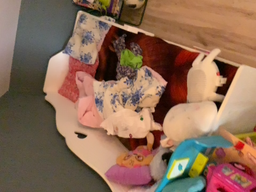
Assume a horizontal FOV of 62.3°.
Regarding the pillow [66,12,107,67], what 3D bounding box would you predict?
[{"bbox_3d":[-0.410,-0.540,2.020,0.370,0.150,0.420,33,113,46],"label":"pillow"}]
